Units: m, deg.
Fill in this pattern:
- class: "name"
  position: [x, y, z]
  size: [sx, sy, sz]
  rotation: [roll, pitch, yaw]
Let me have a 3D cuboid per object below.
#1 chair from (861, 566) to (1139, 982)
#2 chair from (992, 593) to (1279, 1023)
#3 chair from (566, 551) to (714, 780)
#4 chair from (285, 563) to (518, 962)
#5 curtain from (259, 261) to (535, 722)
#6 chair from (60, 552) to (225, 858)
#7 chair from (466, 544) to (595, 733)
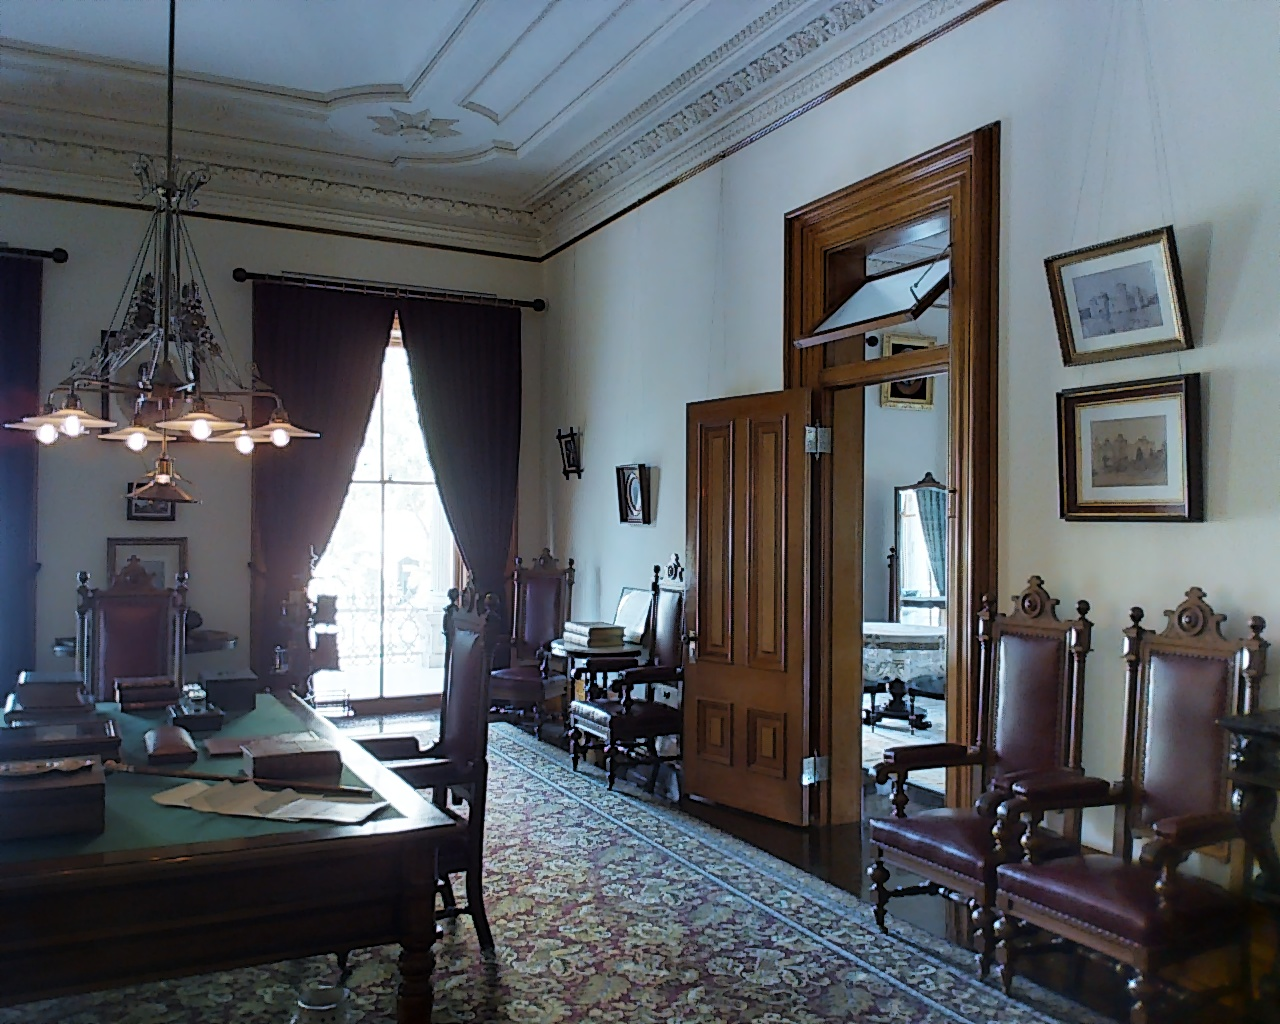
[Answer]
- class: "chair"
  position: [1.360, 0.910, 4.110]
  size: [0.740, 1.370, 0.670]
  rotation: [1, 0, -27]
- class: "chair"
  position: [1.660, 0.930, 3.510]
  size: [0.730, 1.270, 0.630]
  rotation: [1, 0, -27]
- class: "chair"
  position: [-0.010, 0.910, 6.720]
  size: [0.690, 1.310, 0.660]
  rotation: [1, 0, -27]
- class: "chair"
  position: [-0.930, 0.870, 4.120]
  size: [0.700, 1.310, 0.720]
  rotation: [1, 0, -27]
- class: "curtain"
  position: [-1.890, -0.140, 8.570]
  size: [2.100, 3.410, 0.310]
  rotation: [1, 0, -27]
- class: "chair"
  position: [-2.380, 0.860, 5.140]
  size: [0.660, 1.310, 0.650]
  rotation: [1, 0, -27]
- class: "chair"
  position: [-0.810, 0.910, 8.090]
  size: [0.700, 1.310, 0.720]
  rotation: [0, 0, 22]
